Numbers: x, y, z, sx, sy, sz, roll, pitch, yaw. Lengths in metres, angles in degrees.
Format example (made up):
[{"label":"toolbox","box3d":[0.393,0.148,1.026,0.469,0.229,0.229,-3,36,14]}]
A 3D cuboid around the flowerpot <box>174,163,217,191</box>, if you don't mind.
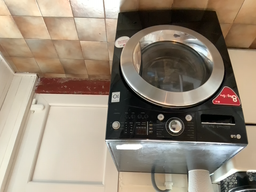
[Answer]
[{"label":"flowerpot","box3d":[0.400,0.650,1.250,0.180,0.430,0.280,1,150,3]}]
